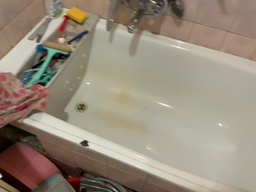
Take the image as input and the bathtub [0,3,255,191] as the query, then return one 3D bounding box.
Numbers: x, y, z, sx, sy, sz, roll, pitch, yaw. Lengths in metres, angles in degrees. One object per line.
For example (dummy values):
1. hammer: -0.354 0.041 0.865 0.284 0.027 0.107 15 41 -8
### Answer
1. bathtub: 0.240 0.170 1.080 1.650 0.560 0.680 19 56 9
